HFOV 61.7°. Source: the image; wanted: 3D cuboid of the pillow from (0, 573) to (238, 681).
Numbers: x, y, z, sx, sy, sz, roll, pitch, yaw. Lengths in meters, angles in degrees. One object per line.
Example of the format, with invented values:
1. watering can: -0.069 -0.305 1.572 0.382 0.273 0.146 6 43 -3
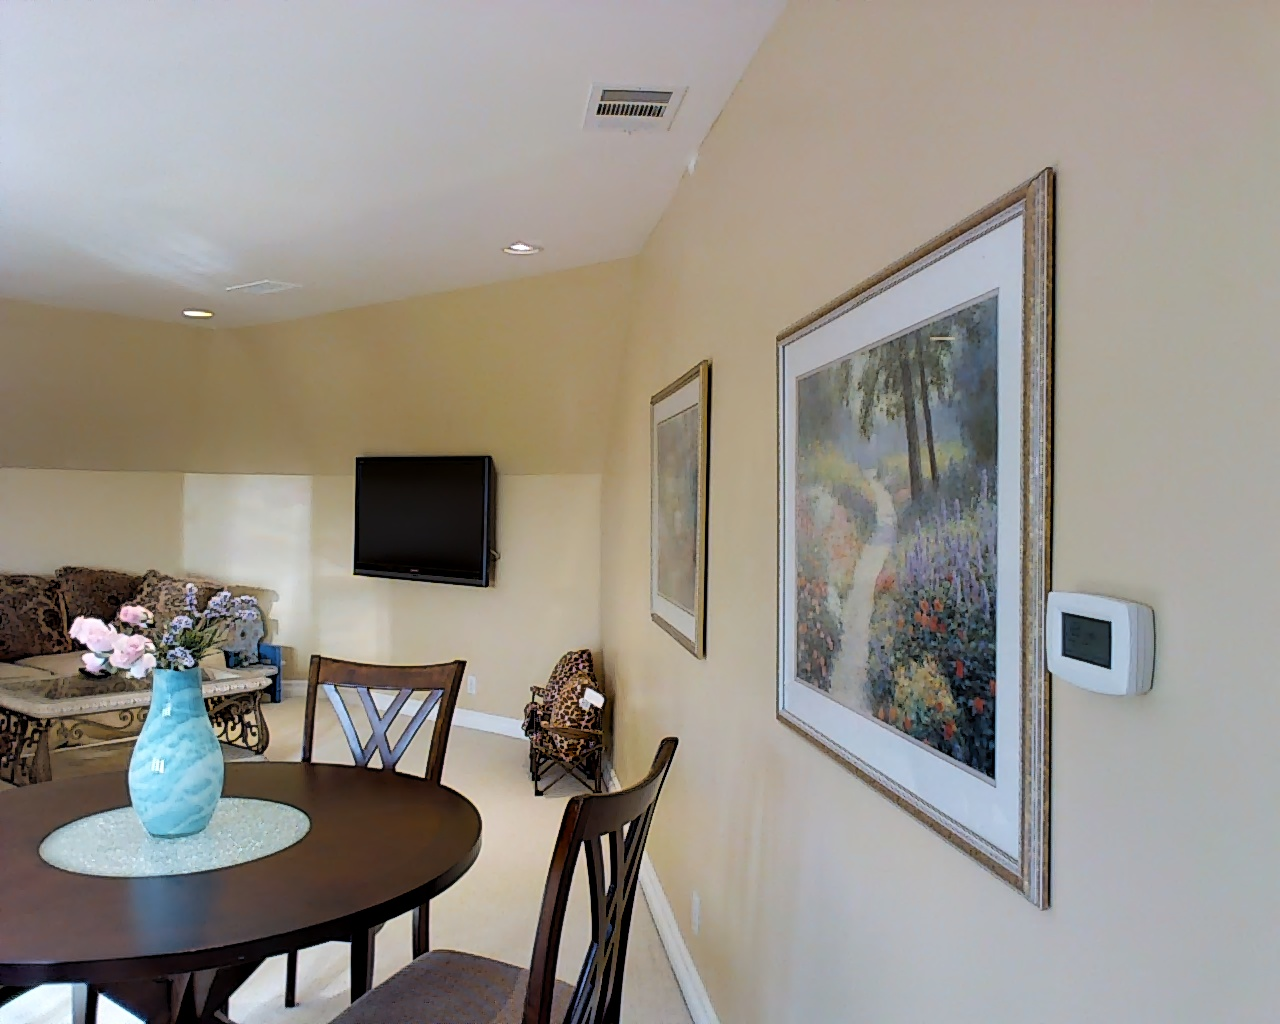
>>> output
1. pillow: -3.561 0.660 6.300 0.940 0.470 2.040 1 0 38

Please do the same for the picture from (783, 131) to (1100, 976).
1. picture: 0.390 0.040 1.670 0.040 0.890 1.090 1 0 -7

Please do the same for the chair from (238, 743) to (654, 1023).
1. chair: -0.350 0.950 2.050 0.640 0.870 0.460 1 0 16
